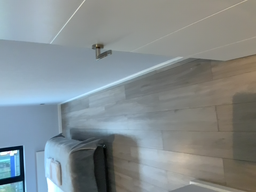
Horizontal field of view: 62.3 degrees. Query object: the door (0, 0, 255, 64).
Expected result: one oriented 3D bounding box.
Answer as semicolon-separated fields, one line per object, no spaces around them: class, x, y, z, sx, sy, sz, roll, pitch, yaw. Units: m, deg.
door;0.050;-0.250;0.660;0.800;1.920;0.040;-6;86;58
